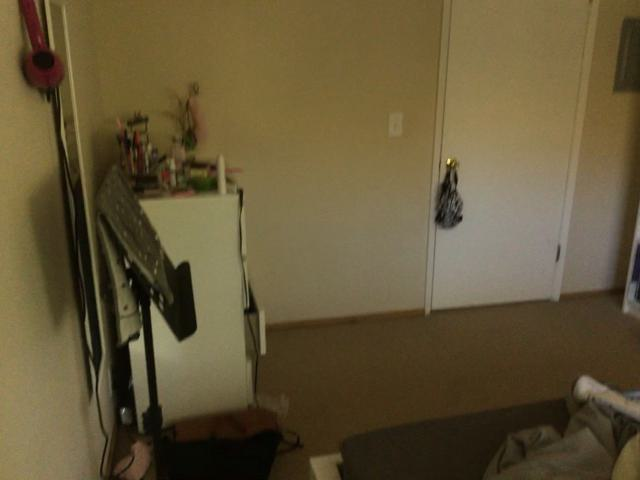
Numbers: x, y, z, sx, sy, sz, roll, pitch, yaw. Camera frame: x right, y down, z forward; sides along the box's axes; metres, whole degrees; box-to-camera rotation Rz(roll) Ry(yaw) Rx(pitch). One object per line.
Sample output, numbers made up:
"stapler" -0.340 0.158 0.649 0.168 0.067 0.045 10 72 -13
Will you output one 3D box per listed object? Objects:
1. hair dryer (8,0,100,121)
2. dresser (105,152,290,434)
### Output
"hair dryer" -0.640 -0.450 1.410 0.130 0.260 0.240 -7 1 -12
"dresser" -0.490 0.180 2.620 0.590 0.980 0.810 -5 19 -5
